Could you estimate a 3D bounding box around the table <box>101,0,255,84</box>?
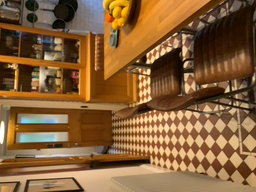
[{"bbox_3d":[0.470,-0.610,1.610,1.440,0.970,0.710,160,111,-65],"label":"table"}]
